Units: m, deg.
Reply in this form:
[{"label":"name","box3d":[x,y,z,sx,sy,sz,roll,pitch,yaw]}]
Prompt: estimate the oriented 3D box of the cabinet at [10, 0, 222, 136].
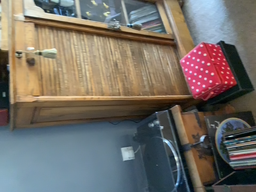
[{"label":"cabinet","box3d":[-0.080,-0.240,1.390,0.420,1.200,0.800,-40,57,54]}]
